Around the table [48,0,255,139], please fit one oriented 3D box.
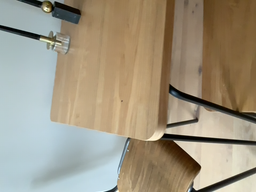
[{"bbox_3d":[0.190,-0.440,0.990,0.790,0.760,1.160,-3,80,56],"label":"table"}]
